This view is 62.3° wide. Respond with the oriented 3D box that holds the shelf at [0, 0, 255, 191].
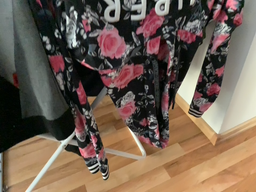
[{"bbox_3d":[-0.310,-0.090,0.750,1.310,1.000,0.720,-17,44,-15],"label":"shelf"}]
